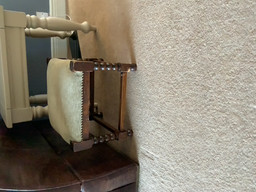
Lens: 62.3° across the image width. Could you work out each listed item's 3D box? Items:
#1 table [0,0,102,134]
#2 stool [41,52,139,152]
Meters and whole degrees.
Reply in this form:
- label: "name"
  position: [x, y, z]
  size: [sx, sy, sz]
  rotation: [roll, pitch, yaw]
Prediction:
- label: "table"
  position: [-0.520, -0.190, 1.300]
  size: [0.550, 0.500, 0.610]
  rotation: [17, 108, 52]
- label: "stool"
  position: [-0.200, -0.010, 1.030]
  size: [0.350, 0.330, 0.370]
  rotation: [20, 111, 52]
